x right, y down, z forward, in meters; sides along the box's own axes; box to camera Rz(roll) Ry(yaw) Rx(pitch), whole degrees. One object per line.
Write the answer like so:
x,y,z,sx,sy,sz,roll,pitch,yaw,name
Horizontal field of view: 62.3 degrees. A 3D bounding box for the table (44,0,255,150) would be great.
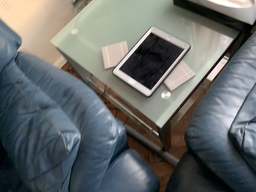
0.120,-0.220,1.080,0.640,0.500,0.630,38,79,22,table
